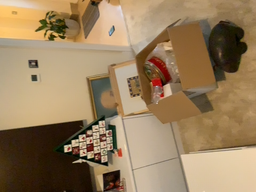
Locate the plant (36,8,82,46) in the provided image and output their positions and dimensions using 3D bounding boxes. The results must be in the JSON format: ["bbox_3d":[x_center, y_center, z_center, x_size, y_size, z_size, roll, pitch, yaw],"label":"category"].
[{"bbox_3d":[-1.310,-1.290,4.050,0.290,0.760,0.560,5,97,59],"label":"plant"}]

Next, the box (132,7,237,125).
[{"bbox_3d":[0.390,-0.190,1.680,0.580,0.330,0.710,-32,66,56],"label":"box"}]
